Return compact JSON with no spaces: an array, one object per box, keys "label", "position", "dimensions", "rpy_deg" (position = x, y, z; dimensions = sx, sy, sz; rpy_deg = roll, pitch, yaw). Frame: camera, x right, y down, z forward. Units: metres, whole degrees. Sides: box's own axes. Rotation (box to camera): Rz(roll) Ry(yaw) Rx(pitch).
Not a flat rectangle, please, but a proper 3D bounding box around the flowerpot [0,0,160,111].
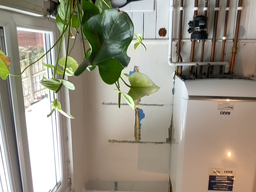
[{"label":"flowerpot","position":[-0.120,-0.250,0.680],"dimensions":[0.430,0.490,0.350],"rpy_deg":[2,-166,7]}]
